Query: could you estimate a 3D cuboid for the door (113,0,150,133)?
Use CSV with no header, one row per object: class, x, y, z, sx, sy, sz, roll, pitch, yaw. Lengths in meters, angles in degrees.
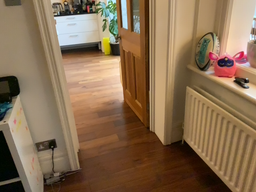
door,0.020,-0.660,2.240,0.130,1.990,0.790,-10,27,-14
